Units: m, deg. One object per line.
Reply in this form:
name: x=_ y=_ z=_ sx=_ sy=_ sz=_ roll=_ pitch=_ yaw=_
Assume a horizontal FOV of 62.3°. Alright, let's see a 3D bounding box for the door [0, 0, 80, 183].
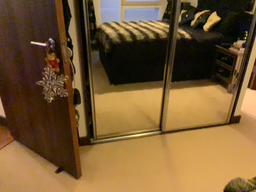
door: x=-0.730 y=-0.370 z=1.370 sx=0.940 sy=1.930 sz=0.050 roll=20 pitch=33 yaw=32
